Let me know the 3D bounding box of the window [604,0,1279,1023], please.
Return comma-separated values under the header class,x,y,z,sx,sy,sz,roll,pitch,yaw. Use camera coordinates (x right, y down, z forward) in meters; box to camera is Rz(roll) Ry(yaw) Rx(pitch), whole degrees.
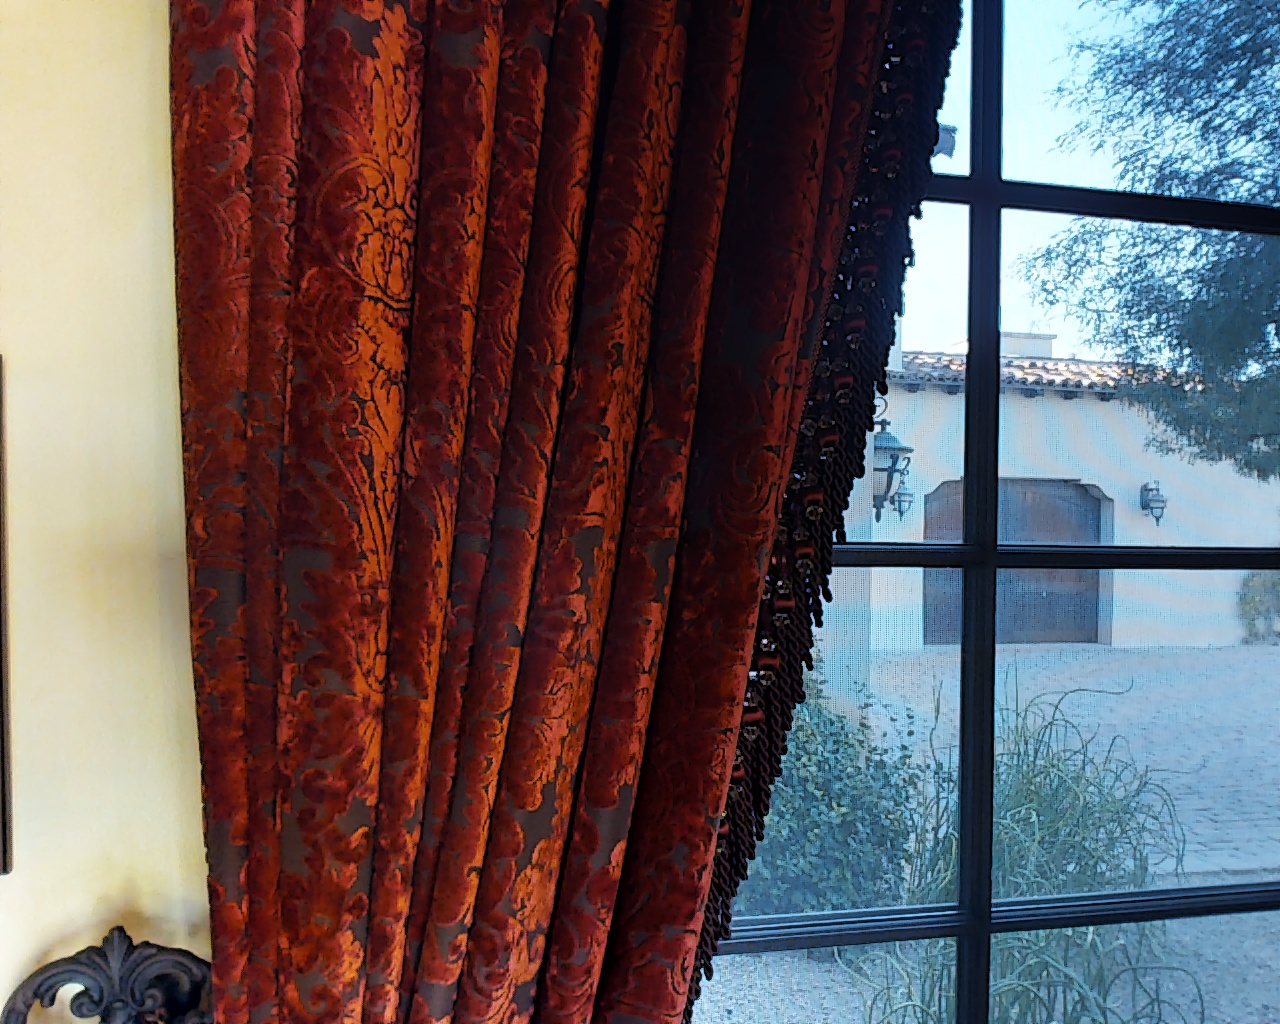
class,x,y,z,sx,sy,sz,roll,pitch,yaw
window,0.330,-0.130,0.940,0.700,1.640,0.060,1,0,-12
